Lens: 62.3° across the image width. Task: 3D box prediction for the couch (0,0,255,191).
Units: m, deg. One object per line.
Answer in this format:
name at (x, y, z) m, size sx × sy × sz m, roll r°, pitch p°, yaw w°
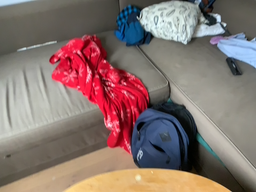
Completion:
couch at (-0.100, 0.010, 1.260) m, size 2.440 × 0.700 × 1.620 m, roll -18°, pitch 45°, yaw -17°
